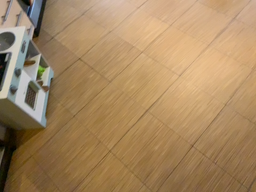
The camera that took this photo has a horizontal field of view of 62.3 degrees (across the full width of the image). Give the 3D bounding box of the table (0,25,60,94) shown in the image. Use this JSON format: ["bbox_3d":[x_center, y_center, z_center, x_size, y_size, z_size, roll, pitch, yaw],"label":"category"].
[{"bbox_3d":[-0.750,-0.250,1.610,0.250,0.490,0.260,-4,62,4],"label":"table"}]

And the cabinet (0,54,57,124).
[{"bbox_3d":[-0.740,-0.020,1.490,0.260,0.500,0.260,-4,62,4],"label":"cabinet"}]
